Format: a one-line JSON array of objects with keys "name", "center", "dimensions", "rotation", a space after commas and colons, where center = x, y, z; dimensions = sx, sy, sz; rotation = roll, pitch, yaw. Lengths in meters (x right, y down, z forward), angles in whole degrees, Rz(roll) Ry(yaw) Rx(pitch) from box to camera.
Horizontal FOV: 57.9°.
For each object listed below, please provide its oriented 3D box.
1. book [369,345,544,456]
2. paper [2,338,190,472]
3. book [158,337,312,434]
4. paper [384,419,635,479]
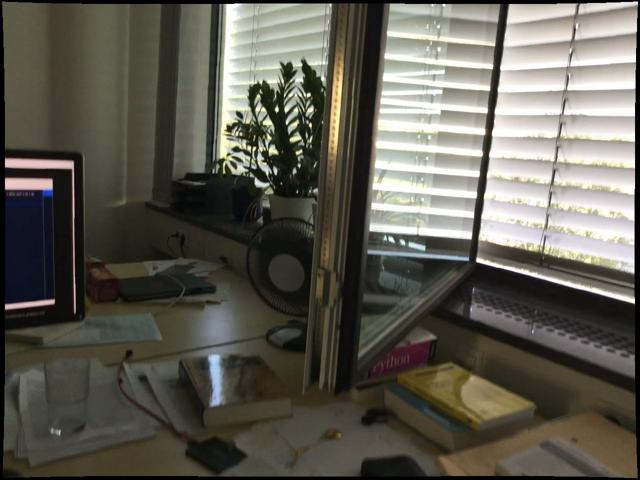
[{"name": "book", "center": [0.280, 0.320, 1.210], "dimensions": [0.240, 0.070, 0.260], "rotation": [-7, 15, -35]}, {"name": "paper", "center": [-0.470, 0.310, 1.180], "dimensions": [0.300, 0.050, 0.370], "rotation": [-5, 14, -30]}, {"name": "book", "center": [-0.190, 0.300, 1.250], "dimensions": [0.220, 0.050, 0.290], "rotation": [-7, 15, -35]}, {"name": "paper", "center": [0.320, 0.400, 0.910], "dimensions": [0.340, 0.050, 0.290], "rotation": [-3, 13, -20]}]
